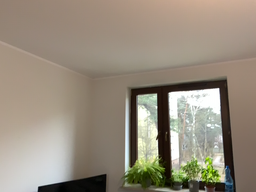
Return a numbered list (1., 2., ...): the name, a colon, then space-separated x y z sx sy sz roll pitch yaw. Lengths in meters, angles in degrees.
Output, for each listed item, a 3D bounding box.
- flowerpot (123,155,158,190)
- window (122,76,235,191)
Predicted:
1. flowerpot: 0.190 1.100 3.120 0.400 0.410 0.340 -4 -12 26
2. window: 0.610 0.550 2.980 1.510 1.500 0.110 -5 -12 28
